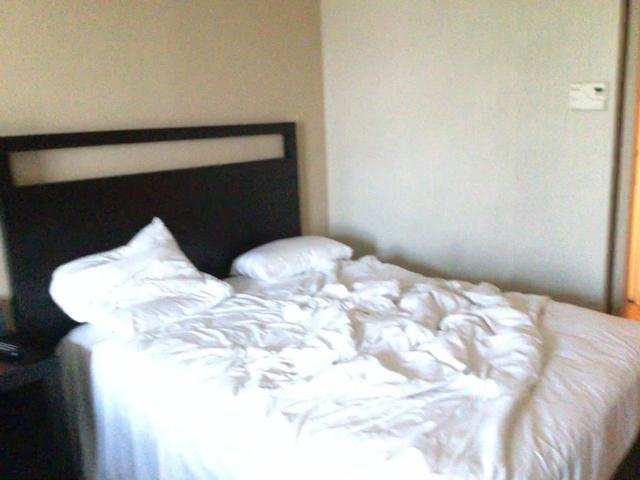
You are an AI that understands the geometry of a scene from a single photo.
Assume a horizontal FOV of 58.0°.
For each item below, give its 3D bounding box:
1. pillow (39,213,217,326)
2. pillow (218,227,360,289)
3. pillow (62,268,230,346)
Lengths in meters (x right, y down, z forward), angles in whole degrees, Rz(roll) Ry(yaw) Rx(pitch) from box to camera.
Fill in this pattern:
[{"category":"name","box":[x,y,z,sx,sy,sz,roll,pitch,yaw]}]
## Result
[{"category":"pillow","box":[-0.820,0.100,2.540,0.290,0.330,0.650,7,15,43]},{"category":"pillow","box":[-0.160,0.080,3.110,0.480,0.170,0.580,7,15,43]},{"category":"pillow","box":[-0.760,0.280,2.600,0.280,0.140,0.660,7,15,43]}]
